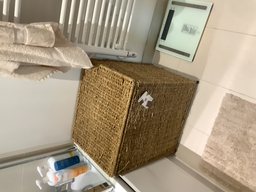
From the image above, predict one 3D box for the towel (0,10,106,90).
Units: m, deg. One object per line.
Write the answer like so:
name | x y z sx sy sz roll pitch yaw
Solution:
towel | -0.530 -0.170 0.710 0.190 0.950 0.250 31 114 40
